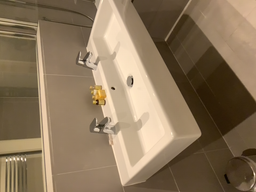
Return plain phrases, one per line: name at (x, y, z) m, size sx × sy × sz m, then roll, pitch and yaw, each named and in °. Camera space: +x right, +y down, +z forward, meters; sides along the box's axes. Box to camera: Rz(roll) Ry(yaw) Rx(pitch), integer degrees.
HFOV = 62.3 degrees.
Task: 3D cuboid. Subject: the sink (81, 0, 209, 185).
sink at (-0.030, -0.130, 1.160) m, size 0.480 × 0.170 × 1.030 m, roll -59°, pitch 41°, yaw 43°
